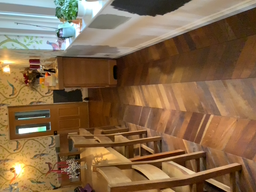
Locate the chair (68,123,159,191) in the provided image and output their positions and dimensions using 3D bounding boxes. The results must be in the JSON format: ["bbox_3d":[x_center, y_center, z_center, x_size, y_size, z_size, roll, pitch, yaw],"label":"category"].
[{"bbox_3d":[-0.170,0.740,2.690,0.450,1.050,0.610,-171,79,-64],"label":"chair"}]
